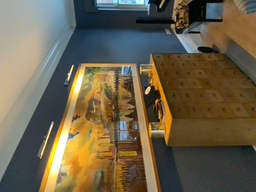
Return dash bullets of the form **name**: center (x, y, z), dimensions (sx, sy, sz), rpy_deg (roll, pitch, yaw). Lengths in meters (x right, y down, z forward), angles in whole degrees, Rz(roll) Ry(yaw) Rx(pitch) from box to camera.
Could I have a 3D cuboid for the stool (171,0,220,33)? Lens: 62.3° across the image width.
- **stool**: center (1.080, -1.320, 3.550), dimensions (0.910, 0.480, 0.320), rpy_deg (-128, 38, -84)
